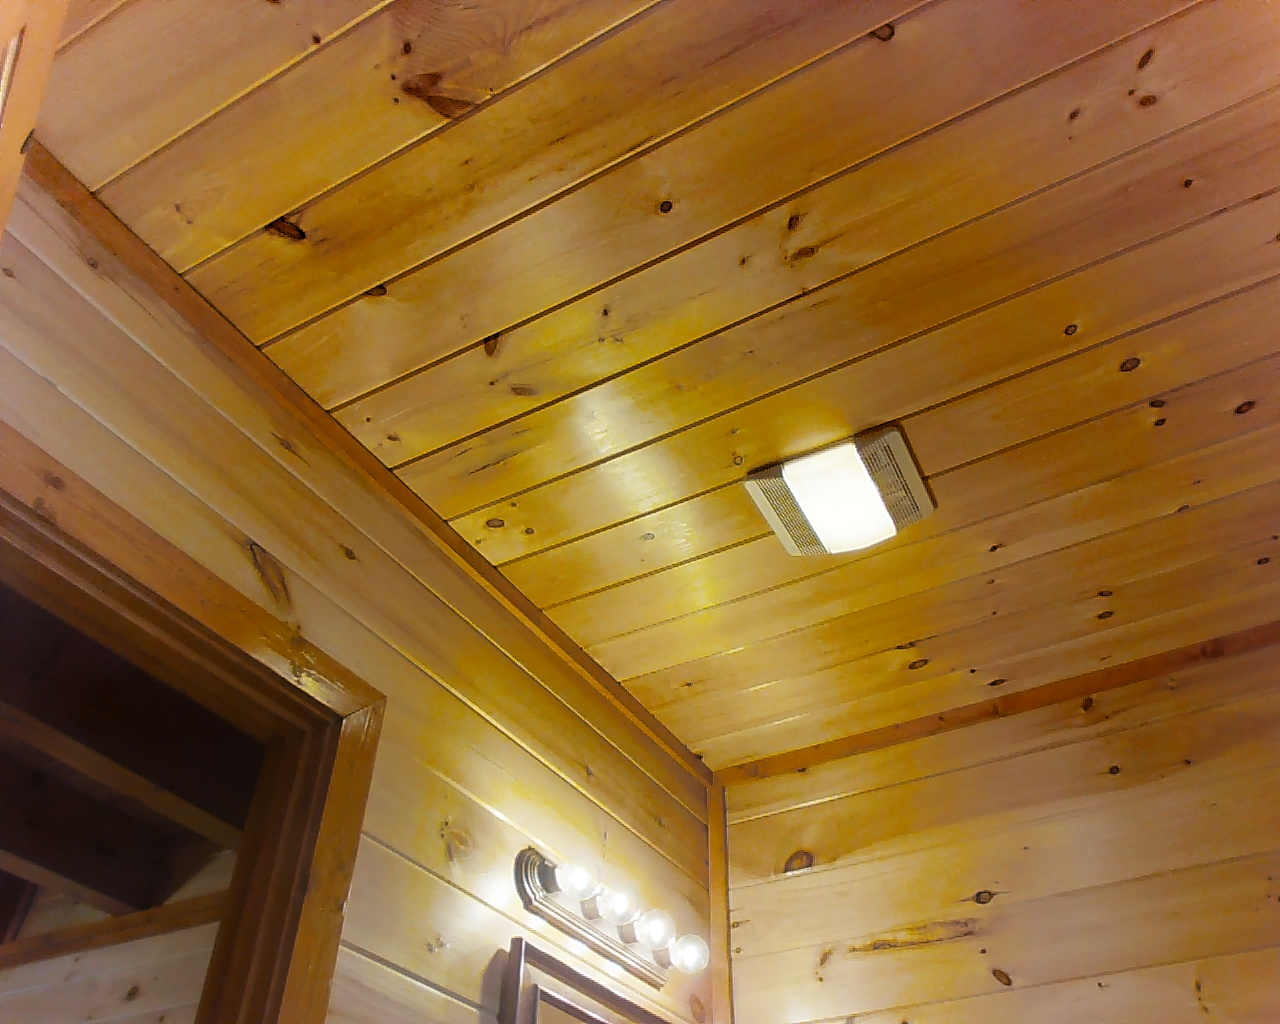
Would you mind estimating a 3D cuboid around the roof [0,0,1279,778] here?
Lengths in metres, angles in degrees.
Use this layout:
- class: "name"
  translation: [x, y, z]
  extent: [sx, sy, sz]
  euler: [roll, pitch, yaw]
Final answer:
- class: "roof"
  translation: [0.010, -0.650, 1.420]
  extent: [1.710, 0.050, 3.760]
  euler: [-20, -46, 23]
